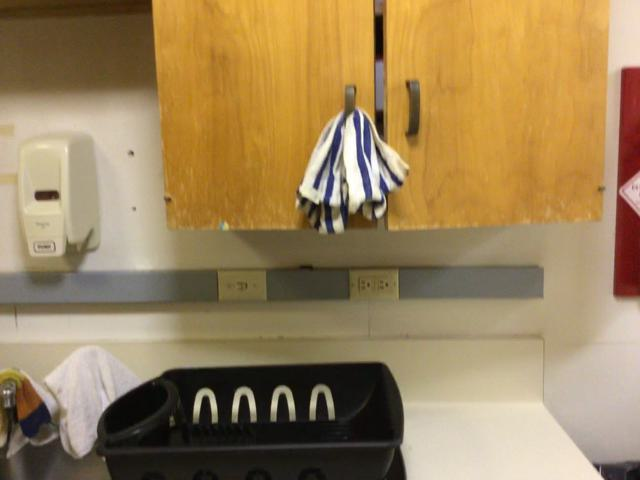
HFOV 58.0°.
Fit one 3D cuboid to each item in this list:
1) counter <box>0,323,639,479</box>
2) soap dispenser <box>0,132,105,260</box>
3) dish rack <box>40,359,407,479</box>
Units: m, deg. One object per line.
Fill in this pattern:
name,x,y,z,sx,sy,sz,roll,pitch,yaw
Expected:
counter,-0.340,0.380,1.080,1.680,0.240,0.670,-2,6,4
soap dispenser,-0.600,-0.100,1.310,0.150,0.270,0.130,-2,6,4
dish rack,-0.130,0.360,1.050,0.540,0.150,0.410,-2,6,4
